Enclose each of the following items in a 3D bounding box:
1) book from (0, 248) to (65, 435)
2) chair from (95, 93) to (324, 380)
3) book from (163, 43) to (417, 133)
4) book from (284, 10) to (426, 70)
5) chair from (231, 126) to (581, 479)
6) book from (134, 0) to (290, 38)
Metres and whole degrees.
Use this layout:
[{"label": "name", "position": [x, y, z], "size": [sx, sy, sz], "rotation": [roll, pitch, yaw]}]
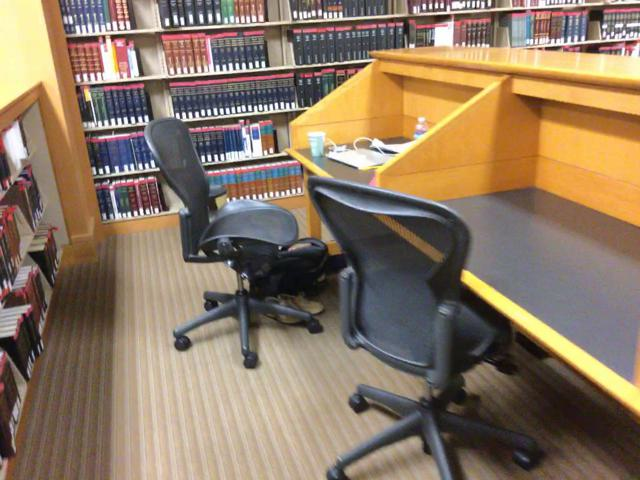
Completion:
[{"label": "book", "position": [-1.270, 0.380, 2.450], "size": [0.160, 0.410, 0.840], "rotation": [-13, 22, -13]}, {"label": "chair", "position": [-0.410, -0.040, 2.630], "size": [0.730, 1.060, 0.670], "rotation": [-6, 22, 2]}, {"label": "book", "position": [-0.190, -1.150, 4.300], "size": [1.840, 0.360, 0.280], "rotation": [-12, 22, -13]}, {"label": "book", "position": [0.270, -1.490, 4.290], "size": [1.040, 0.290, 0.160], "rotation": [-12, 22, -13]}, {"label": "chair", "position": [0.290, 0.260, 1.810], "size": [0.690, 1.050, 0.690], "rotation": [-25, 28, -37]}, {"label": "book", "position": [-0.710, -1.550, 3.860], "size": [0.990, 0.250, 0.160], "rotation": [-12, 22, -13]}]
